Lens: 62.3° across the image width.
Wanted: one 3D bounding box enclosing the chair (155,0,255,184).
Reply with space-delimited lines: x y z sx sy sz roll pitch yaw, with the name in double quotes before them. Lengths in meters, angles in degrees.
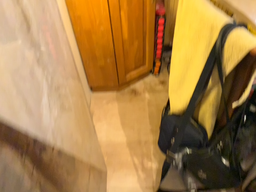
"chair" 0.480 0.000 1.010 0.550 0.960 0.390 -12 51 -7
